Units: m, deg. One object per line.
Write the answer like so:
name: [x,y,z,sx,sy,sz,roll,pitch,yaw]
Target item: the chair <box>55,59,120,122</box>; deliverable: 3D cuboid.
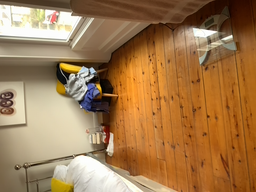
chair: [-0.620,-0.100,3.070,0.700,0.690,0.520,63,144,38]
